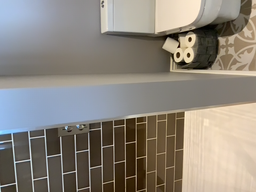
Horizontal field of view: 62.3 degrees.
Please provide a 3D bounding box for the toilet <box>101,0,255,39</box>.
[{"bbox_3d":[0.290,-0.620,1.380,0.610,0.780,0.390,-160,69,-64],"label":"toilet"}]
